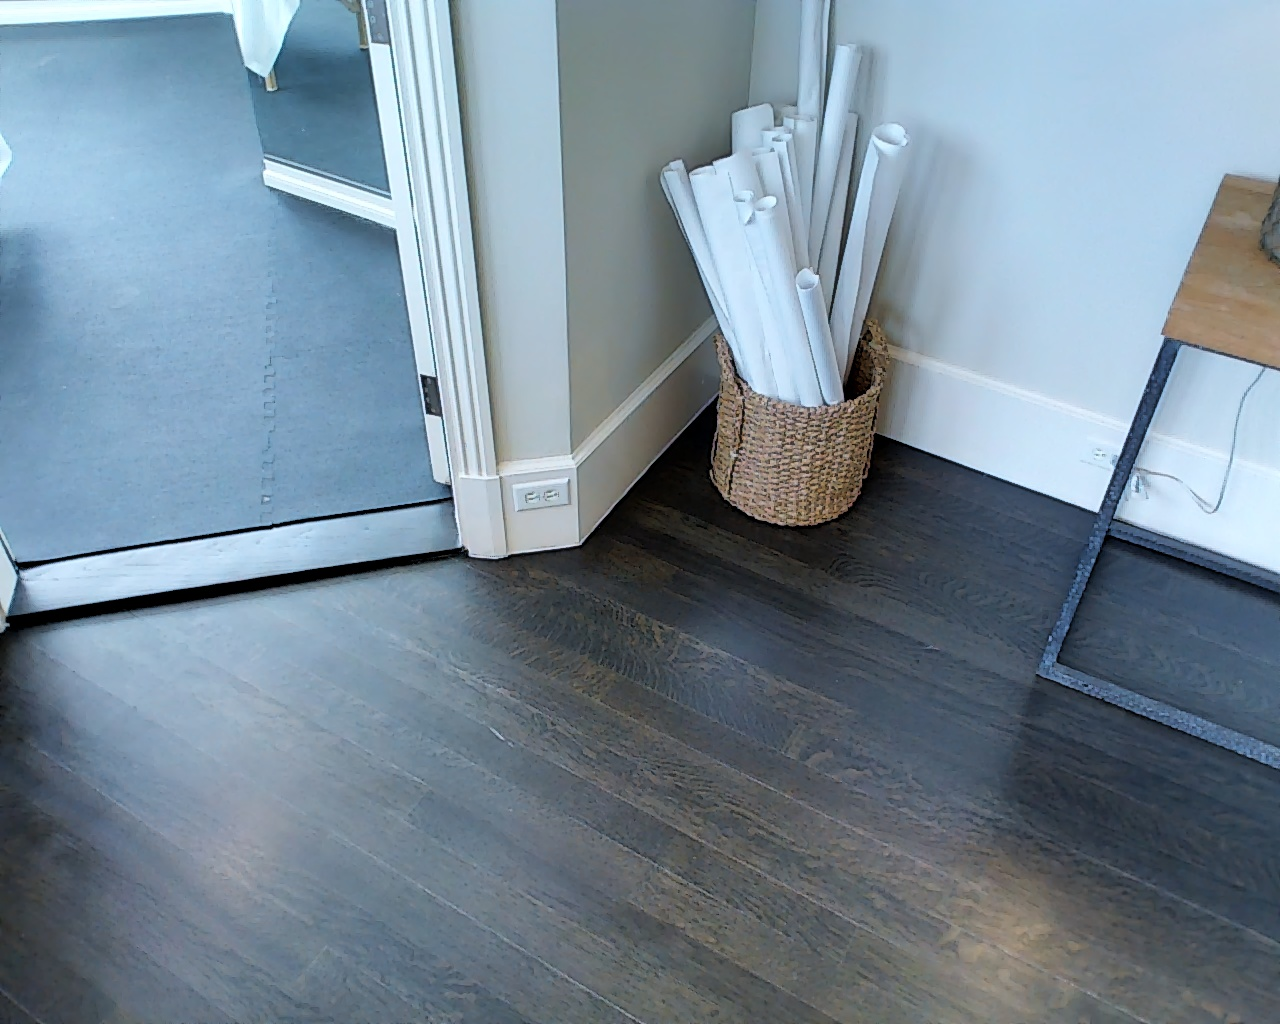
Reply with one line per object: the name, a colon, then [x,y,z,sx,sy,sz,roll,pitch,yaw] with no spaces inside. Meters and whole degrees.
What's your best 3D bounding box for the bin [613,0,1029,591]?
bin: [0.320,-0.510,2.090,0.480,1.110,0.610,23,47,23]
